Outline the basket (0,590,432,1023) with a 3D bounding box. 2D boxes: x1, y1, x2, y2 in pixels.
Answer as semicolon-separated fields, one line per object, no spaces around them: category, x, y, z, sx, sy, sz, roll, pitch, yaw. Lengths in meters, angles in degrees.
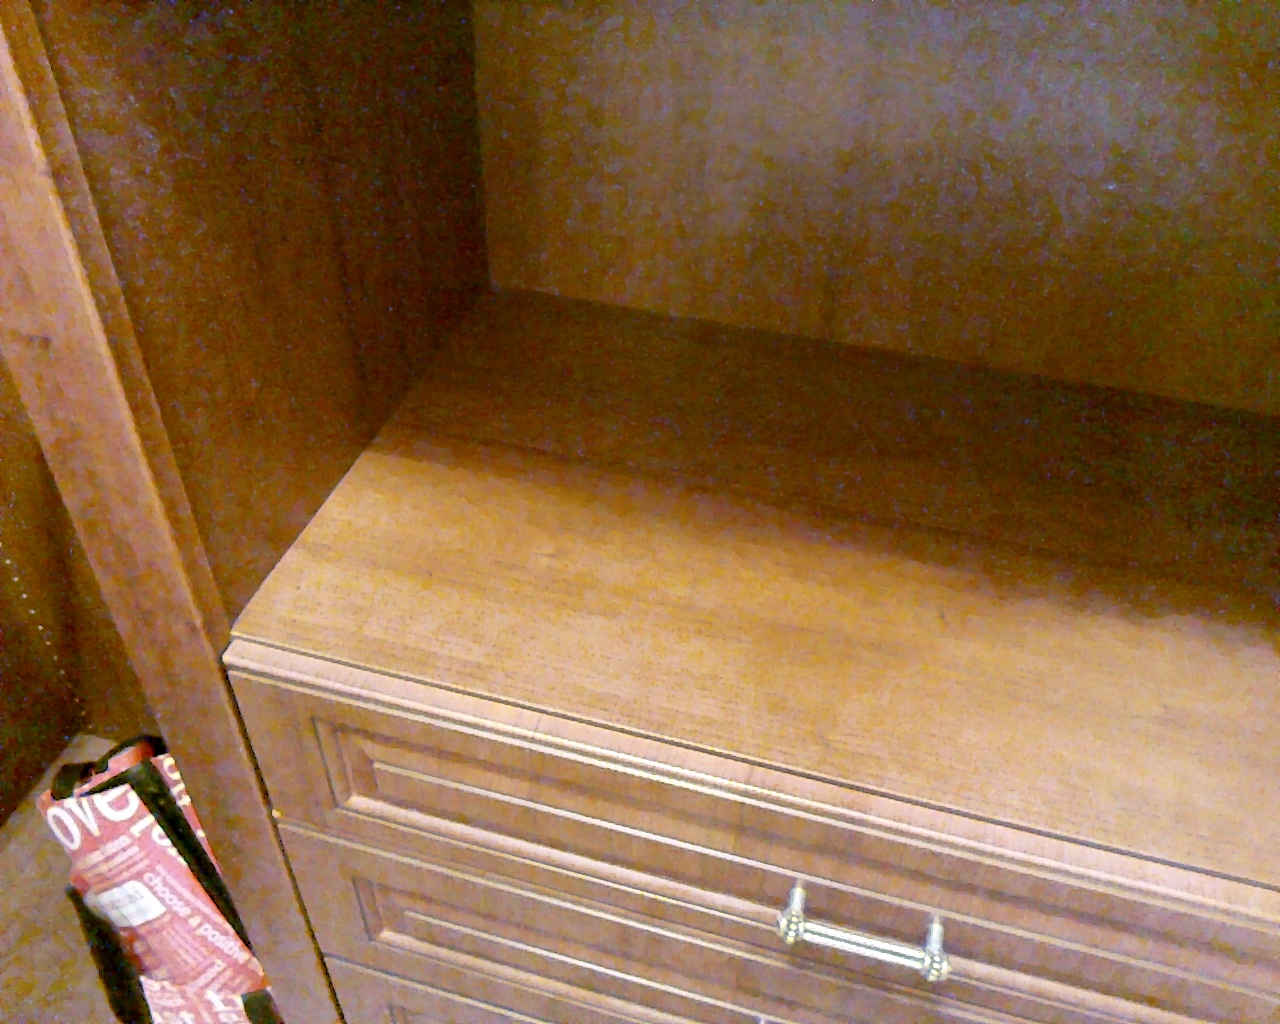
basket;-0.520;0.450;1.250;0.460;0.540;0.240;29;50;26
